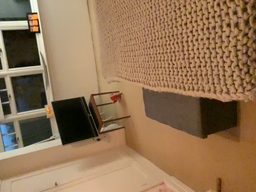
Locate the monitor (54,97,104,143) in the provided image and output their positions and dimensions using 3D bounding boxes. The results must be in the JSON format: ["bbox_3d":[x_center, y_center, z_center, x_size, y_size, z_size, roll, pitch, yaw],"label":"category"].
[{"bbox_3d":[-0.750,0.340,3.230,0.690,0.570,0.040,62,148,31],"label":"monitor"}]

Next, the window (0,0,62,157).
[{"bbox_3d":[-1.870,-0.490,3.920,0.330,0.730,3.180,20,117,62],"label":"window"}]
